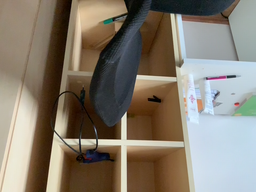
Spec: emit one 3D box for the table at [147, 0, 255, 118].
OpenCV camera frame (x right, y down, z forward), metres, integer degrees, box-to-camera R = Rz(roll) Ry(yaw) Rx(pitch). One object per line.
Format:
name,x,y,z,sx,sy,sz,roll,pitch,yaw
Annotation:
table,0.600,-0.330,1.160,0.870,0.760,0.510,3,156,-7
